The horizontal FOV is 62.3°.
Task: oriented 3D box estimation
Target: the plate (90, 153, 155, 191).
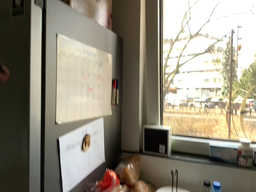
[{"bbox_3d":[-0.010,0.500,1.010,0.200,0.340,0.340,2,2,20],"label":"plate"}]
